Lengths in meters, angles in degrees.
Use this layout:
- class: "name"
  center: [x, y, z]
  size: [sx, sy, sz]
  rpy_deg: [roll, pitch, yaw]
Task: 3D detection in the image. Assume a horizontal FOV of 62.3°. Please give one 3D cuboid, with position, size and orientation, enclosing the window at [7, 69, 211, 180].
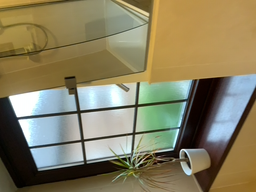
- class: "window"
  center: [-0.060, 0.180, 1.170]
  size: [0.040, 0.940, 0.640]
  rpy_deg: [-110, 18, -54]
